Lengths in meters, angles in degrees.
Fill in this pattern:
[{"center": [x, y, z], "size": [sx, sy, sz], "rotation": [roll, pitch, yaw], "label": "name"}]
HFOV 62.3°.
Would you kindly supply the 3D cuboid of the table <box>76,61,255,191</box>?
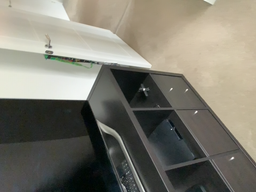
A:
[{"center": [0.310, 0.470, 1.250], "size": [0.460, 0.770, 1.450], "rotation": [-58, 45, 35], "label": "table"}]
